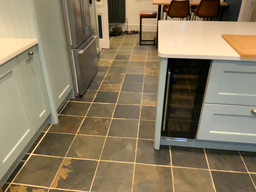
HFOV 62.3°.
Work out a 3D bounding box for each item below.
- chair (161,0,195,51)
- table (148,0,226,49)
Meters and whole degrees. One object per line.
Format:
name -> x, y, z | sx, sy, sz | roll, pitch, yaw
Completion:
chair -> 0.960, -1.460, 4.250 | 0.510, 0.970, 0.500 | 3, 31, 5
table -> 1.160, -1.610, 4.560 | 1.390, 0.910, 0.860 | 3, 31, 5
